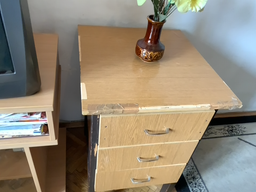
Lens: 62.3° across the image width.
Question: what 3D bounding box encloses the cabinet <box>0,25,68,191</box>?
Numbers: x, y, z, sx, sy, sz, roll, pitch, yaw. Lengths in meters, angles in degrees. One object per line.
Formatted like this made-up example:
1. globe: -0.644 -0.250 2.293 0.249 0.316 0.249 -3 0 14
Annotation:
1. cabinet: -0.720 0.140 1.000 0.800 0.740 0.590 -3 41 -14
